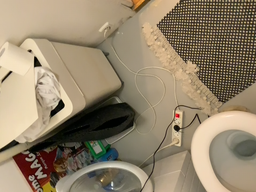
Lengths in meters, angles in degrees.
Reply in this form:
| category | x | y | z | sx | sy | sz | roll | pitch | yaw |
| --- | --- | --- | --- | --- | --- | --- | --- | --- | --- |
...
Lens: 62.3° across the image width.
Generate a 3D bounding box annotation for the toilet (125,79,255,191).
| category | x | y | z | sx | sy | sz | roll | pitch | yaw |
| --- | --- | --- | --- | --- | --- | --- | --- | --- | --- |
| toilet | 0.450 | 0.350 | 0.820 | 0.390 | 0.840 | 0.620 | -33 | 87 | 25 |
